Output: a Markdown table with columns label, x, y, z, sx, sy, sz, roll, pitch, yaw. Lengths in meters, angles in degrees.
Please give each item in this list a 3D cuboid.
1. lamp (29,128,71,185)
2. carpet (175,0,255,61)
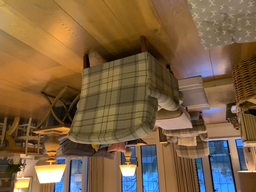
| label | x | y | z | sx | sy | sz | roll | pitch | yaw |
| --- | --- | --- | --- | --- | --- | --- | --- | --- | --- |
| lamp | -1.080 | 0.850 | 2.980 | 0.350 | 0.710 | 0.350 | -11 | 159 | 26 |
| carpet | 0.690 | -0.540 | 1.600 | 0.490 | 0.130 | 0.770 | -10 | 160 | 23 |
